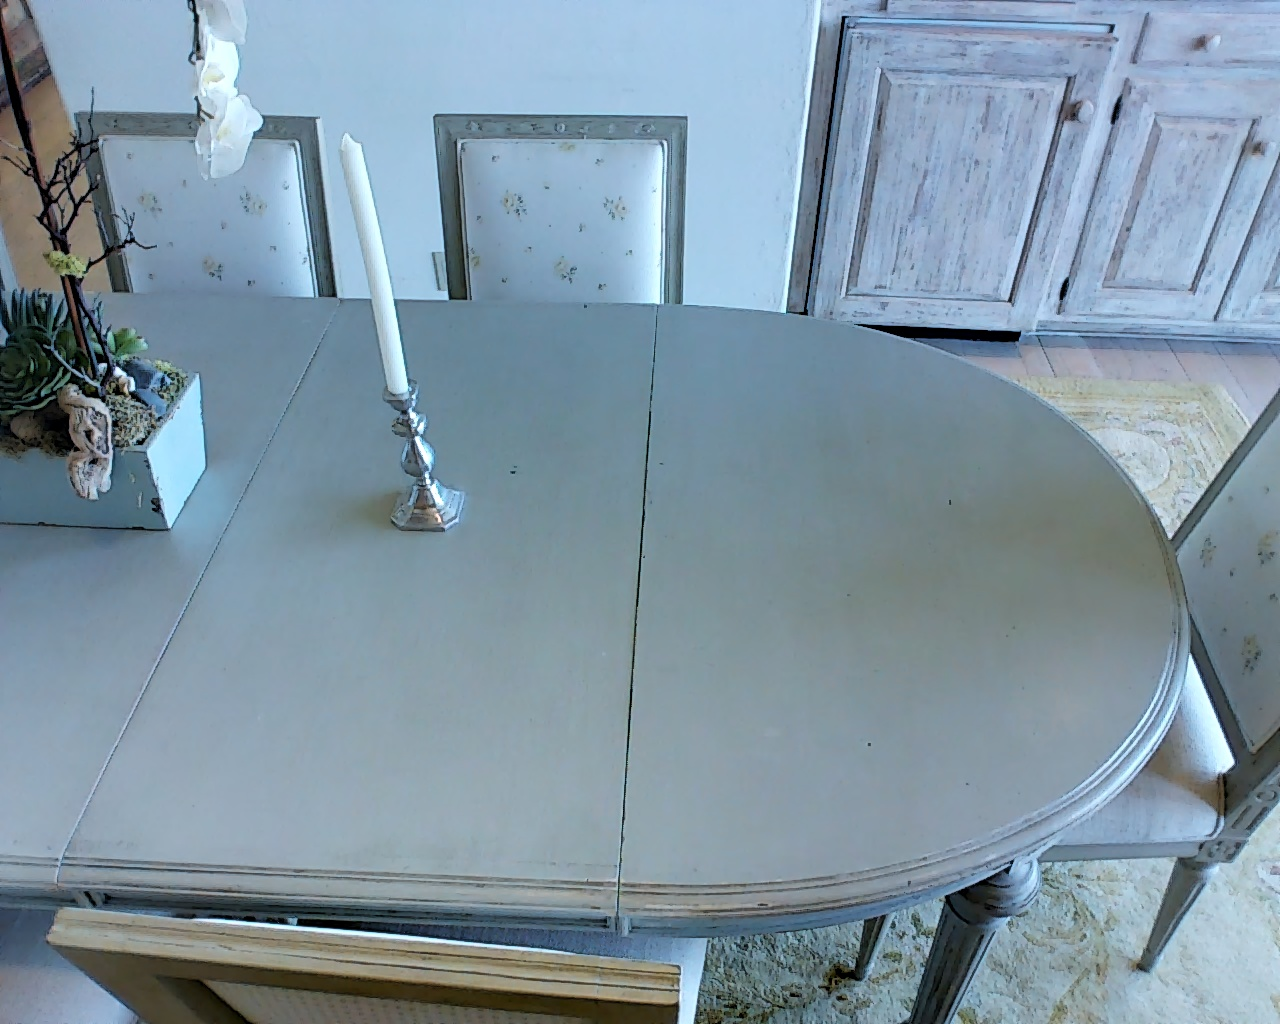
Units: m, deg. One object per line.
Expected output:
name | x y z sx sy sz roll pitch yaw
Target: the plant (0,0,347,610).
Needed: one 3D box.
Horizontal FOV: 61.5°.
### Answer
plant | -0.730 -0.330 1.160 0.580 0.750 0.450 2 41 3
